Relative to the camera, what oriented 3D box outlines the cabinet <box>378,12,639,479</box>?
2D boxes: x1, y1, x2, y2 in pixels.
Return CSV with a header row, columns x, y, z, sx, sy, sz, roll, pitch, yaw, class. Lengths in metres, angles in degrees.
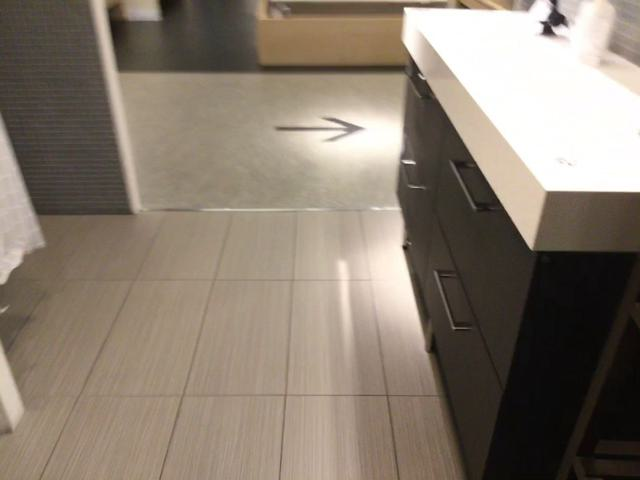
x,y,z,sx,sy,sz,roll,pitch,yaw,class
0.520,-0.120,1.580,0.530,0.710,1.410,0,31,-1,cabinet
